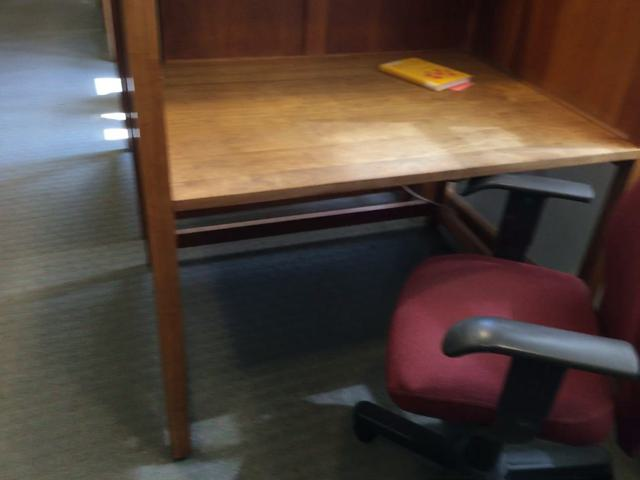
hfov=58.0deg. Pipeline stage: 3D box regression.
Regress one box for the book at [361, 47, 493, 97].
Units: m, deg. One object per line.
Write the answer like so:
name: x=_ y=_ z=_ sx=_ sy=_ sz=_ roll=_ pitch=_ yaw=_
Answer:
book: x=0.330 y=-0.530 z=1.800 sx=0.270 sy=0.030 sz=0.300 roll=-21 pitch=42 yaw=-32
